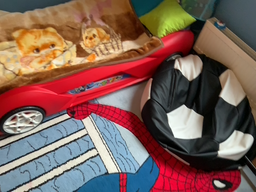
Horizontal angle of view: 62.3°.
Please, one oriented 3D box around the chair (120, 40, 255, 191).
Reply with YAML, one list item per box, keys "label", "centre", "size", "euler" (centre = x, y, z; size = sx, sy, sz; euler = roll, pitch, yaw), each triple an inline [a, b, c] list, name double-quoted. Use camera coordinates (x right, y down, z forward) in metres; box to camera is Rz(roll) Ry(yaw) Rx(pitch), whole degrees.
- label: "chair"
  centre: [0.510, 0.080, 1.570]
  size: [0.760, 0.330, 0.890]
  euler: [-22, 62, -25]
